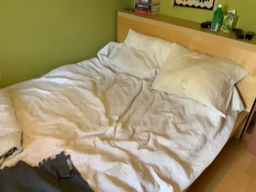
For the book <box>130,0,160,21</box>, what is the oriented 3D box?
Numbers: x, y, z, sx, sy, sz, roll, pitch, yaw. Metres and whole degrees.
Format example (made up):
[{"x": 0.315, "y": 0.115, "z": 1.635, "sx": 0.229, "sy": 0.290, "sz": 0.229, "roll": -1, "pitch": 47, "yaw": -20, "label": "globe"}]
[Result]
[{"x": 0.180, "y": -1.000, "z": 2.270, "sx": 0.100, "sy": 0.300, "sz": 0.330, "roll": -23, "pitch": 41, "yaw": -35, "label": "book"}]
